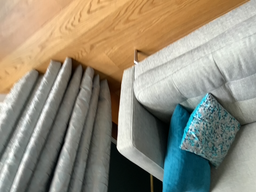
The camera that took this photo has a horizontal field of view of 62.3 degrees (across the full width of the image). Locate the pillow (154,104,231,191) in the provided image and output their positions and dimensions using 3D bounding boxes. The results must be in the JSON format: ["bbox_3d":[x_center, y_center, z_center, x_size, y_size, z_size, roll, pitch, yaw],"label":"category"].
[{"bbox_3d":[0.340,0.290,1.050,0.120,0.370,0.430,-30,84,27],"label":"pillow"}]
